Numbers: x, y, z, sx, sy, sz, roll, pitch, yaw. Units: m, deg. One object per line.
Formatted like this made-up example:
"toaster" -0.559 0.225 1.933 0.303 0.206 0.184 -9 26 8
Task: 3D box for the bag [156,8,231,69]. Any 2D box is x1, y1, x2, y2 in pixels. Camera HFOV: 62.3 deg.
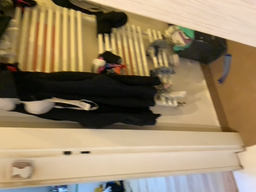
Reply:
"bag" 0.490 -0.420 1.630 0.290 0.430 0.260 142 129 -57
